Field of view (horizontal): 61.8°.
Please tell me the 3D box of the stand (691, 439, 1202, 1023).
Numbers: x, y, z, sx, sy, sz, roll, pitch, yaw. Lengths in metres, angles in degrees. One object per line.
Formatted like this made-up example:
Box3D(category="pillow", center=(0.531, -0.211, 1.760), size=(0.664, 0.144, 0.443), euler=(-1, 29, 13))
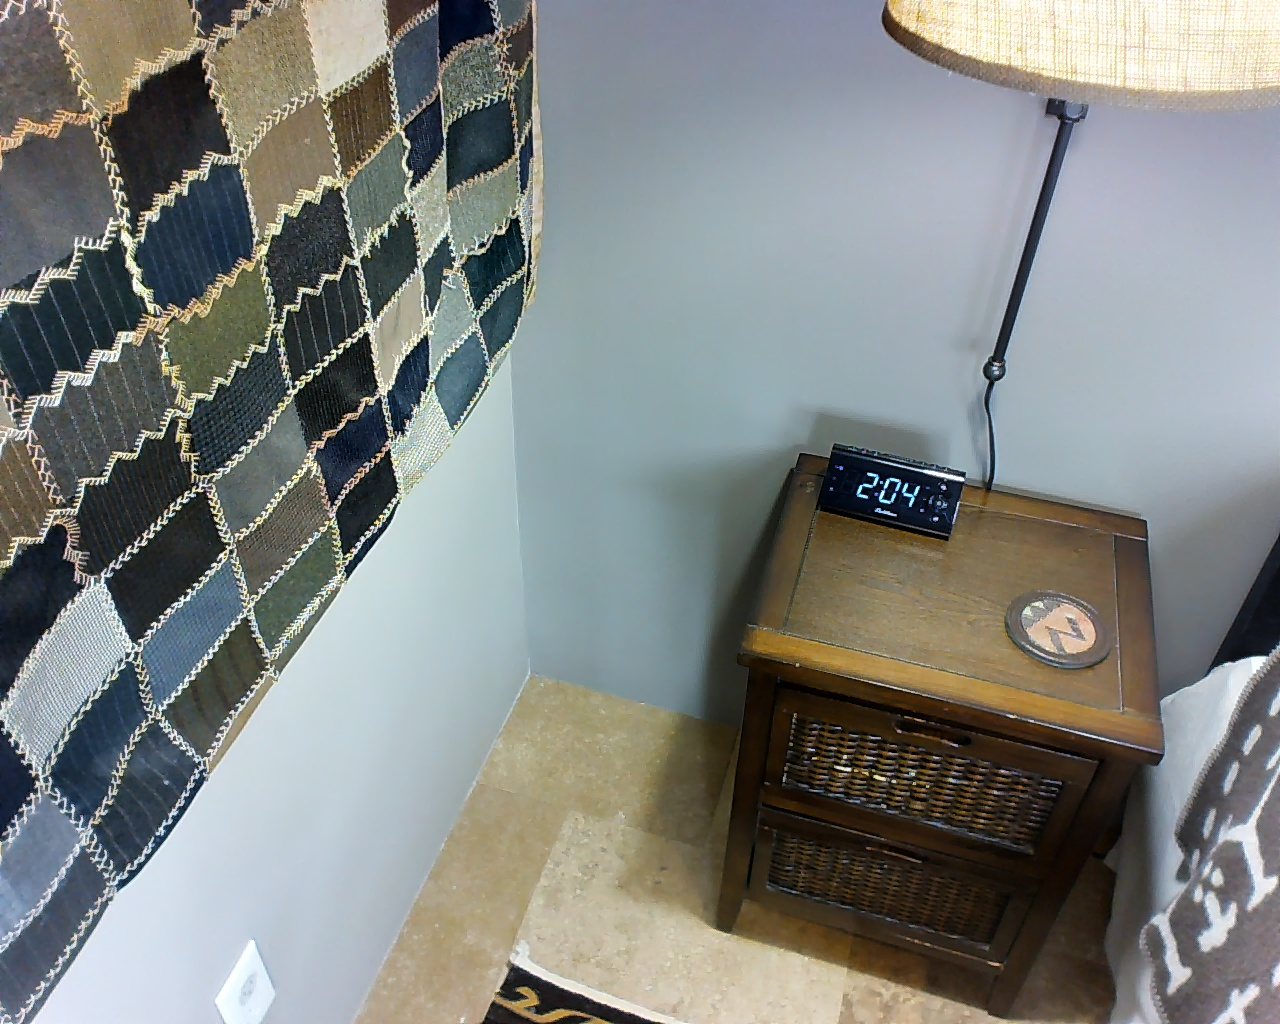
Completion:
Box3D(category="stand", center=(0.350, 0.290, 1.370), size=(0.460, 0.580, 0.380), euler=(12, 42, 12))
